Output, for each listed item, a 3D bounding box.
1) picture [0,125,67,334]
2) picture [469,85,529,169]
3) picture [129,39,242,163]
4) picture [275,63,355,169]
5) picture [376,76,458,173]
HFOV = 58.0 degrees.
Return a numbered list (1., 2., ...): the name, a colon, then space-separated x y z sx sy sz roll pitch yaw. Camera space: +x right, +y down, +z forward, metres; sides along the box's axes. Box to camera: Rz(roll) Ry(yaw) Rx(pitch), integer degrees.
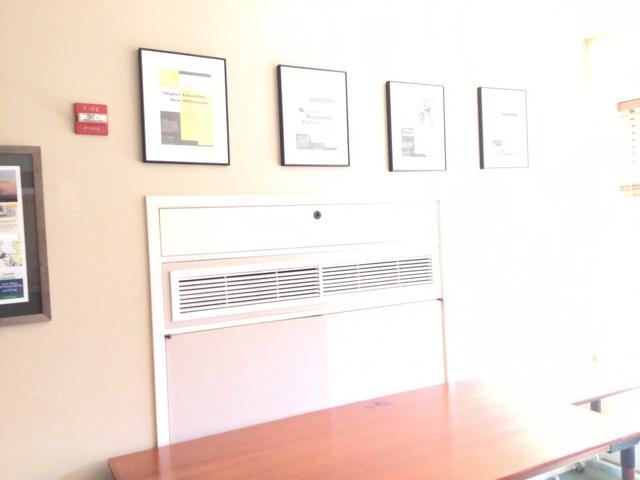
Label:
1. picture: -1.160 -0.030 1.980 0.480 0.710 0.130 -4 -4 -28
2. picture: 0.970 -0.600 3.120 0.370 0.430 0.060 -4 3 -29
3. picture: -0.540 -0.550 2.340 0.400 0.470 0.080 -4 -4 -28
4. picture: -0.020 -0.550 2.610 0.350 0.450 0.060 -3 1 -26
5. picture: 0.490 -0.570 2.890 0.380 0.450 0.090 -4 -4 -28
